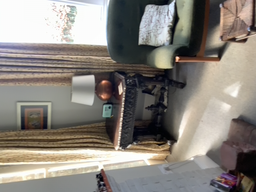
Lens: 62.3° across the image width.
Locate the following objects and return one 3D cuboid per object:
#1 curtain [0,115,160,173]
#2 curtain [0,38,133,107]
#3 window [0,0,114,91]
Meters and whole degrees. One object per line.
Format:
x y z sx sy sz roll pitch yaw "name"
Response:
-0.970 0.520 2.400 0.450 2.750 0.390 -148 60 -65 "curtain"
-1.030 -0.240 2.210 0.270 2.190 0.650 -148 61 -64 "curtain"
-1.130 -1.080 2.150 0.340 1.950 2.020 -145 58 -64 "window"
